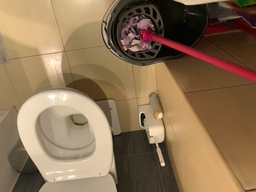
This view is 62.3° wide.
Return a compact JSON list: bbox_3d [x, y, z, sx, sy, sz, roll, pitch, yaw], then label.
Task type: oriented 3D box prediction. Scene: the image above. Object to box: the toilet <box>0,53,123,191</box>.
[{"bbox_3d":[-0.250,0.230,0.870,0.390,0.840,0.520,-8,119,0],"label":"toilet"}]
